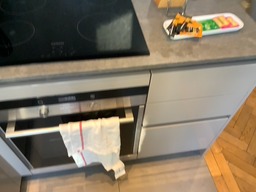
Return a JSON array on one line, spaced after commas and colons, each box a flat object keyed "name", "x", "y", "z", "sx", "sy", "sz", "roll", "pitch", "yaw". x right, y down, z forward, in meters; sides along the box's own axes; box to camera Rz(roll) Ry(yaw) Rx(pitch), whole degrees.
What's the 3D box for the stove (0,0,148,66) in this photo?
[{"name": "stove", "x": -0.280, "y": -0.320, "z": 0.840, "sx": 0.610, "sy": 0.020, "sz": 0.520, "roll": -7, "pitch": 52, "yaw": -9}]
